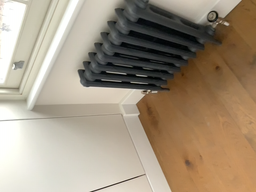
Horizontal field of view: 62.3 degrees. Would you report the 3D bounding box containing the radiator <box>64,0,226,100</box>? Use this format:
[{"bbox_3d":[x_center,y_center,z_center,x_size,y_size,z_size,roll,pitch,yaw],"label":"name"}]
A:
[{"bbox_3d":[0.090,-0.190,1.100,0.570,0.630,0.140,-44,58,39],"label":"radiator"}]
